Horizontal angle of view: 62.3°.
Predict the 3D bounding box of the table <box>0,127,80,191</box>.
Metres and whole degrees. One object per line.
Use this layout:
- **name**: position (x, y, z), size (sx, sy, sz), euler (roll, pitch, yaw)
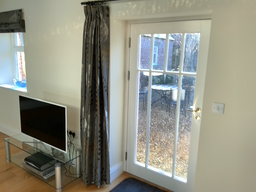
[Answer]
- **table**: position (-1.140, 0.770, 2.740), size (0.980, 0.400, 0.470), euler (10, 15, 32)
